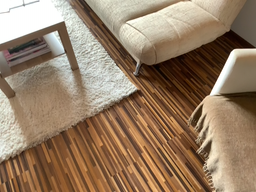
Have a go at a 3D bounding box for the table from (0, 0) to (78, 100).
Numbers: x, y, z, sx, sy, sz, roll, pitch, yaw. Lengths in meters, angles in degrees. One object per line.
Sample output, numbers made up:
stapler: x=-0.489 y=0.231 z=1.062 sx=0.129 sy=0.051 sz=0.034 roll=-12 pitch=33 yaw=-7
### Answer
table: x=-0.870 y=-0.540 z=1.640 sx=0.550 sy=0.460 sz=0.910 roll=-27 pitch=59 yaw=-17
